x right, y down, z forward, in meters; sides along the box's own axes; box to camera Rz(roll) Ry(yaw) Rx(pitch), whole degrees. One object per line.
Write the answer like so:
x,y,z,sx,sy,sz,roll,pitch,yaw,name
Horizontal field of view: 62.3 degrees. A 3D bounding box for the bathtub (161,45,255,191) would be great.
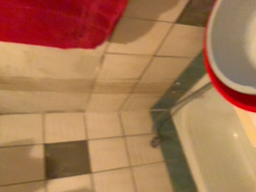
0.820,0.550,1.210,0.700,0.560,1.520,125,137,-52,bathtub
